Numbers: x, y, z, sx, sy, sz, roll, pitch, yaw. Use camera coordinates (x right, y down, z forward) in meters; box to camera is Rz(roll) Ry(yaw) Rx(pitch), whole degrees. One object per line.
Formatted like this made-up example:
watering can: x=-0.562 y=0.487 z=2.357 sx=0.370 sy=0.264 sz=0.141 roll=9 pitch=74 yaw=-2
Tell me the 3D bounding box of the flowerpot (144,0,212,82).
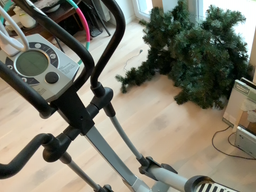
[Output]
flowerpot: x=0.490 y=-0.560 z=2.060 sx=0.390 sy=0.610 sz=0.440 roll=-30 pitch=47 yaw=-8
